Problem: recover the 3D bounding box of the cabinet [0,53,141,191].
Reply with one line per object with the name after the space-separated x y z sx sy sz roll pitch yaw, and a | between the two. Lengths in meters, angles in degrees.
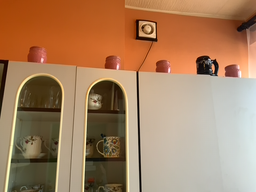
-0.280 0.190 1.050 0.610 0.670 0.310 3 -16 -12 | cabinet
